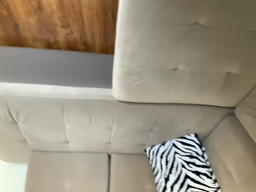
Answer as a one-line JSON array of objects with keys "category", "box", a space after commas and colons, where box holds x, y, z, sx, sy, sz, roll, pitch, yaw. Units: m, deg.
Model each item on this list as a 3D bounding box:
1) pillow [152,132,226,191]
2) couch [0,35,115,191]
[{"category": "pillow", "box": [0.360, 0.490, 1.380, 0.330, 0.390, 0.340, 1, 144, -3]}, {"category": "couch", "box": [-0.540, 0.290, 1.430, 0.850, 0.860, 1.010, 2, 144, -5]}]
